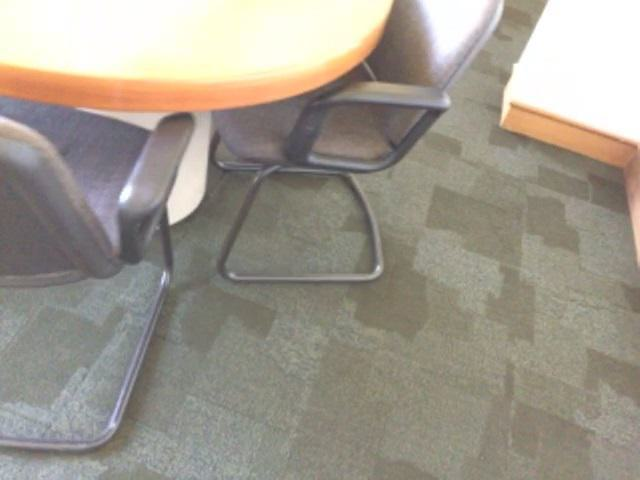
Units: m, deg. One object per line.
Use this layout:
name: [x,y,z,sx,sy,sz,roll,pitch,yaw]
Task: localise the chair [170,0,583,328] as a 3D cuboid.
chair: [0.020,-0.340,1.470,0.610,0.800,0.670,-10,52,-25]
